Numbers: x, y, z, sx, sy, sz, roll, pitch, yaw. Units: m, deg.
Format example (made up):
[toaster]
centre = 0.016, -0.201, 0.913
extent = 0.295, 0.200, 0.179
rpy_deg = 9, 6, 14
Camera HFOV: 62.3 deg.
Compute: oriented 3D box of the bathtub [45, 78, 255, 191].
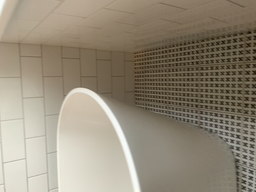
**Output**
[bathtub]
centre = 0.050, 0.770, 0.980
extent = 0.780, 0.550, 1.690
rpy_deg = 7, 100, 55
